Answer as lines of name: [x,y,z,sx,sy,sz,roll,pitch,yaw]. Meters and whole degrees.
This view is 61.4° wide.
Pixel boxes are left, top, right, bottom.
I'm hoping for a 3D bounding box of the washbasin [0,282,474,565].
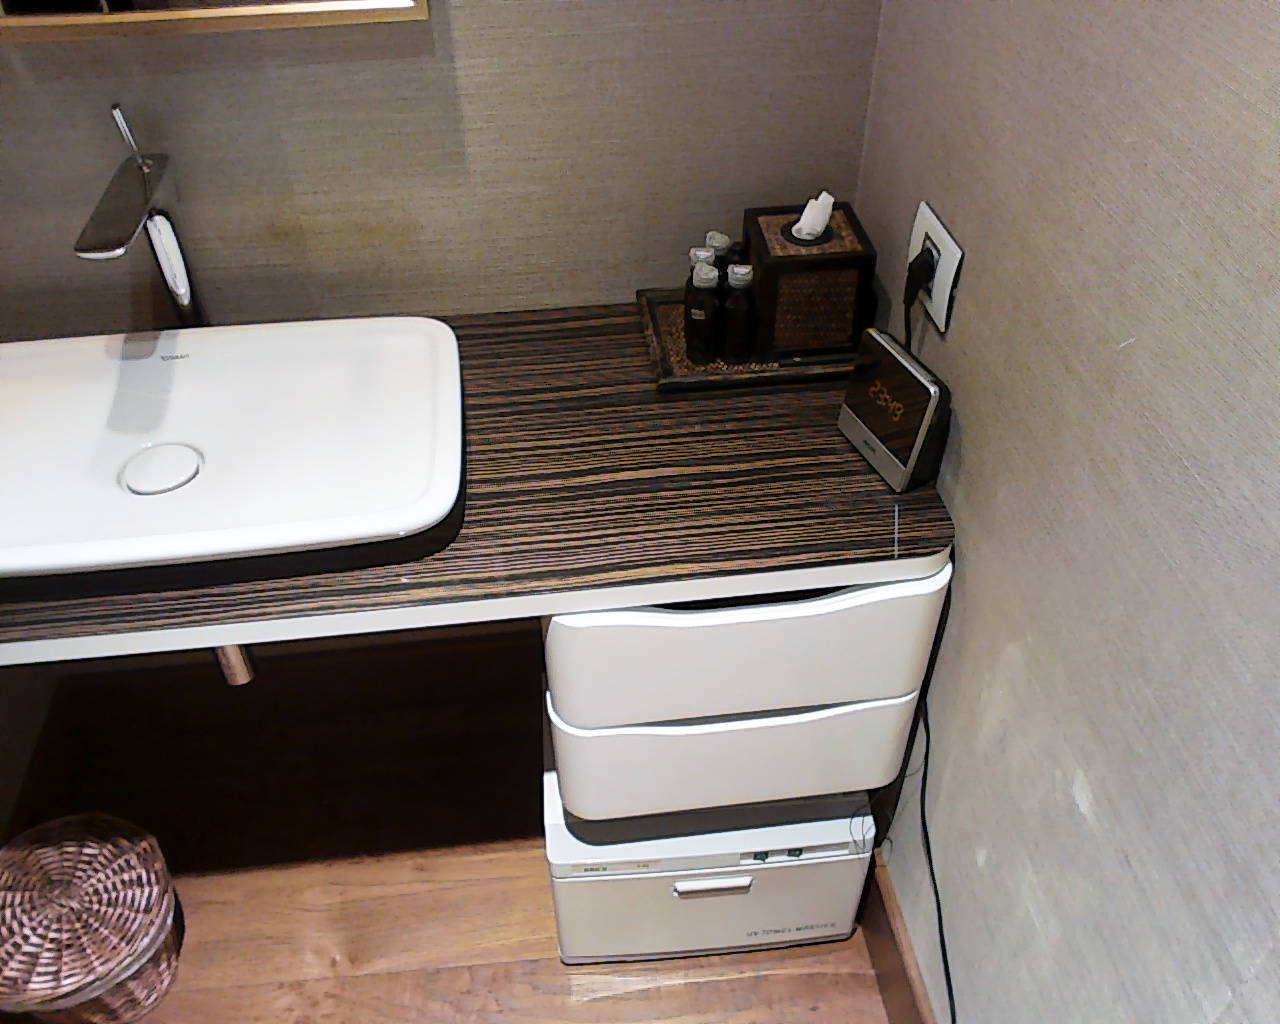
washbasin: [-0.560,-0.120,1.280,0.710,0.060,0.440,-4,41,-5]
